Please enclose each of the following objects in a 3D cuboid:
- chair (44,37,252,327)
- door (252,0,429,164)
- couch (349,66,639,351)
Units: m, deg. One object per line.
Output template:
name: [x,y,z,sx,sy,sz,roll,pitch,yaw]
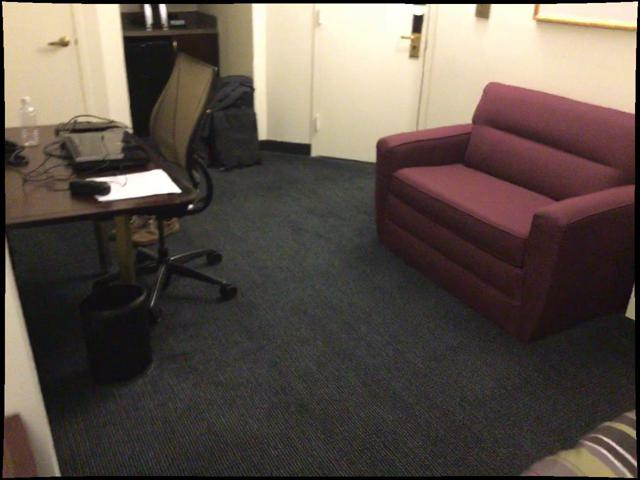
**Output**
chair: [-0.739,-0.290,2.590,0.670,1.081,0.550,-13,30,-27]
door: [0.140,-1.872,4.170,1.289,2.542,0.190,10,28,15]
couch: [0.939,-0.300,2.990,0.909,0.861,1.430,-13,30,-27]
